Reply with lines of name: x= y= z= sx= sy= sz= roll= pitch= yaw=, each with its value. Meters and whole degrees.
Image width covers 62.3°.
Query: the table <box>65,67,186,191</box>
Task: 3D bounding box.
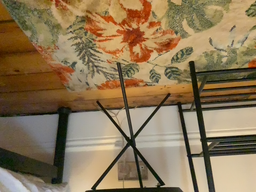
table: x=0.000 y=0.180 z=0.930 sx=0.380 sy=0.440 sz=0.390 roll=-4 pitch=155 yaw=4
